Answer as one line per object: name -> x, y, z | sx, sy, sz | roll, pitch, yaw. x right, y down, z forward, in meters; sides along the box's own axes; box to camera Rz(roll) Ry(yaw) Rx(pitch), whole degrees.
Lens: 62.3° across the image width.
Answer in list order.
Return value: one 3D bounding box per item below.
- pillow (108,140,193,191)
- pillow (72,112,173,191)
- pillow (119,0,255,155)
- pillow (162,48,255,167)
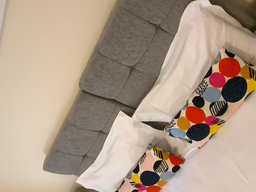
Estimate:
pillow -> 0.110, 0.630, 1.460 | 0.660, 0.300, 0.160 | -56, 3, 31
pillow -> -0.060, 0.480, 1.460 | 0.680, 0.400, 0.110 | -57, 8, 25
pillow -> 0.340, -0.070, 1.160 | 0.770, 0.450, 0.130 | -57, 8, 26
pillow -> 0.460, 0.080, 1.080 | 0.540, 0.310, 0.130 | -56, 4, 27
